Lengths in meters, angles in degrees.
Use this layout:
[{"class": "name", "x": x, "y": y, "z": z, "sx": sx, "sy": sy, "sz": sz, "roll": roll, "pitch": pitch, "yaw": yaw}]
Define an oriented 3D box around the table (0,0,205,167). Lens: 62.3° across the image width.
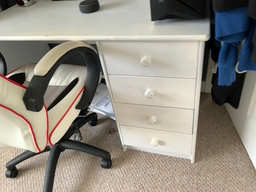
[{"class": "table", "x": -0.230, "y": -0.190, "z": 1.280, "sx": 1.250, "sy": 0.740, "sz": 0.670, "roll": 5, "pitch": 42, "yaw": 18}]
